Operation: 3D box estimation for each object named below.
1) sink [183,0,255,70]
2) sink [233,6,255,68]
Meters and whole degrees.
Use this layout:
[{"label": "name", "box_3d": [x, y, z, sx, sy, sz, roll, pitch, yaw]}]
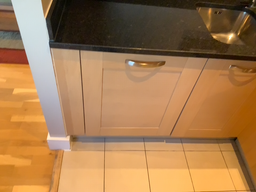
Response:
[{"label": "sink", "box_3d": [0.610, -0.400, 1.340, 0.370, 0.240, 0.400, 3, 48, -7]}, {"label": "sink", "box_3d": [0.870, -0.380, 1.370, 0.150, 0.240, 0.330, 3, 48, -7]}]
